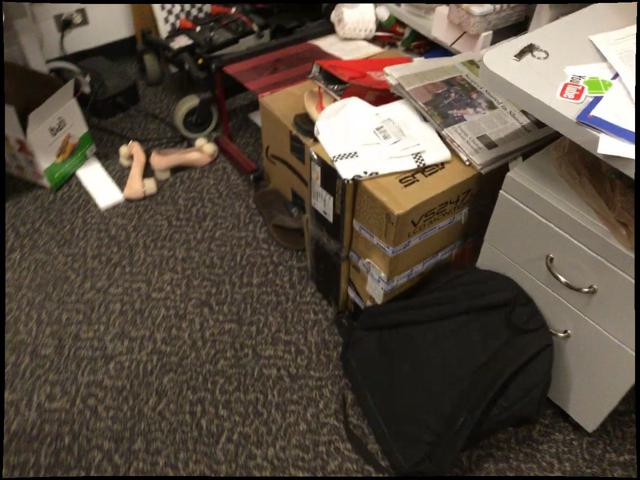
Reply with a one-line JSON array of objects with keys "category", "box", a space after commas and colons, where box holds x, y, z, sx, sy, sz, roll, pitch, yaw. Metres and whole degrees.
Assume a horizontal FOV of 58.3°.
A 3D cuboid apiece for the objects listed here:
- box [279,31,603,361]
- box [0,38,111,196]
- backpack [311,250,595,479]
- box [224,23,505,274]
[{"category": "box", "box": [0.260, -0.120, 1.430, 0.580, 0.490, 0.410, -29, 55, -24]}, {"category": "box", "box": [-0.899, -0.380, 1.760, 0.310, 0.280, 0.300, 23, 52, 17]}, {"category": "backpack", "box": [0.310, 0.280, 1.330, 0.450, 0.270, 0.410, -4, 50, -47]}, {"category": "box", "box": [0.120, -0.290, 1.670, 0.630, 0.350, 0.420, -29, 55, -24]}]
